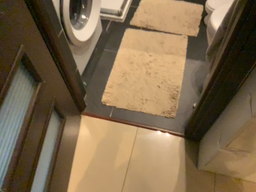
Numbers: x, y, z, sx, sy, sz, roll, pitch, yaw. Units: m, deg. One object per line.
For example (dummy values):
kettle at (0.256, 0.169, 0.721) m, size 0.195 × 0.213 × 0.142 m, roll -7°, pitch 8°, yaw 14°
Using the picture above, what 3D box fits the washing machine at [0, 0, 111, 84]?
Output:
washing machine at (-0.550, -0.630, 1.470) m, size 0.650 × 0.860 × 0.620 m, roll 10°, pitch 59°, yaw 8°
